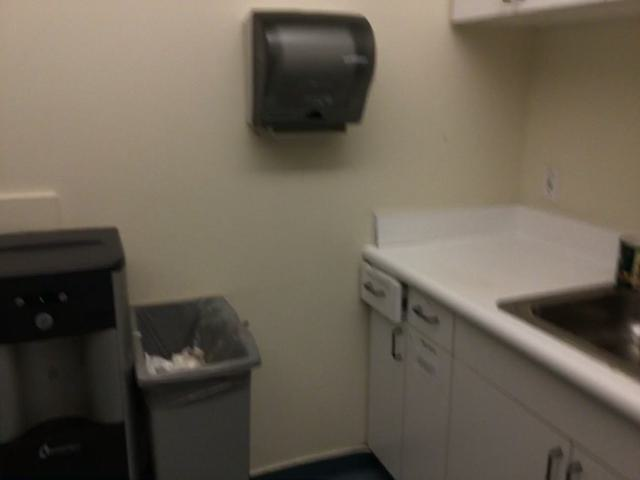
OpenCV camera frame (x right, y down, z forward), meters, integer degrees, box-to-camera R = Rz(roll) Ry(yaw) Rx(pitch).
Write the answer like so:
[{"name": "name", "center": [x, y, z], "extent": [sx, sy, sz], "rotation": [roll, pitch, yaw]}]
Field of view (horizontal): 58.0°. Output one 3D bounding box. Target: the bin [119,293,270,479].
[{"name": "bin", "center": [-0.350, 0.590, 1.580], "extent": [0.300, 0.750, 0.470], "rotation": [-5, 14, -22]}]
